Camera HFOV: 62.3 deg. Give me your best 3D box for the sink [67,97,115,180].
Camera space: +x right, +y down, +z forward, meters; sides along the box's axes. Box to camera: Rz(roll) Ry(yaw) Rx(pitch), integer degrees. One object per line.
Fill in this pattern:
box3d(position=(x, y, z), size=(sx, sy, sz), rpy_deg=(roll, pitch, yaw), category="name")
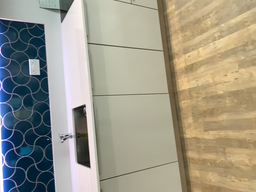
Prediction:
box3d(position=(-0.330, 0.330, 1.770), size=(0.430, 0.210, 0.590), rpy_deg=(-15, 79, 58), category="sink")
